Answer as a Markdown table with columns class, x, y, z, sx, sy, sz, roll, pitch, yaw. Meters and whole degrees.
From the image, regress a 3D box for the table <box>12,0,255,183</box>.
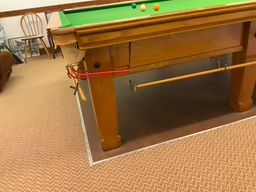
| class | x | y | z | sx | sy | sz | roll | pitch | yaw |
| --- | --- | --- | --- | --- | --- | --- | --- | --- | --- |
| table | 1.070 | -0.680 | 2.350 | 3.790 | 0.870 | 1.990 | -13 | 27 | -14 |
